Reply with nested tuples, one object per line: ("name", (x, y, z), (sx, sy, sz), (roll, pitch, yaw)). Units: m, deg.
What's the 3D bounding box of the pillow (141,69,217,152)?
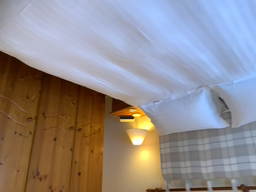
("pillow", (0.490, 0.140, 2.110), (0.190, 0.410, 0.690), (24, 98, -45))
